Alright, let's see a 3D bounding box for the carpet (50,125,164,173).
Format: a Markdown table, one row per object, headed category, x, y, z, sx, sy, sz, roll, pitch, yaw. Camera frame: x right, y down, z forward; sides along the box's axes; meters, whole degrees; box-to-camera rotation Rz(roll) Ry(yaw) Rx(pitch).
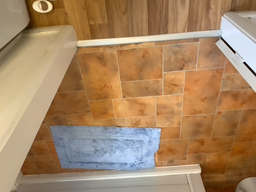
| category | x | y | z | sx | sy | sz | roll | pitch | yaw |
| --- | --- | --- | --- | --- | --- | --- | --- | --- | --- |
| carpet | -0.160 | 0.420 | 1.630 | 0.790 | 0.050 | 0.440 | 4 | 127 | -3 |
